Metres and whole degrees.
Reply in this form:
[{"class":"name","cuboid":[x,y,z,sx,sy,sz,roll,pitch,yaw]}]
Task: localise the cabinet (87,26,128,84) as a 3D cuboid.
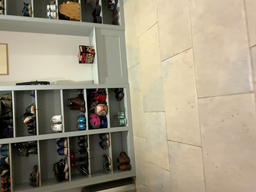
[{"class":"cabinet","cuboid":[-0.310,-0.570,3.090,0.350,0.460,0.740,168,98,-67]}]
